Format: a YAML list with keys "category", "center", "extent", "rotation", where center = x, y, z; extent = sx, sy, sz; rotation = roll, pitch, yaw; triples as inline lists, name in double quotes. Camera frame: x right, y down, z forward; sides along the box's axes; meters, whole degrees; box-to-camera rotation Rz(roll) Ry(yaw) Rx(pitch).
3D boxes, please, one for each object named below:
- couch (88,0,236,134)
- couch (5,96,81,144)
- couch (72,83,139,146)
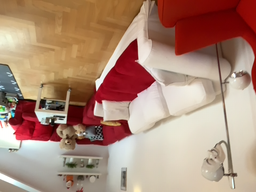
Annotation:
- category: "couch"
  center: [0.150, -0.100, 2.800]
  extent: [0.900, 0.850, 2.190]
  rotation: [8, 160, -18]
- category: "couch"
  center: [-2.020, 0.650, 5.210]
  extent: [1.480, 0.850, 0.960]
  rotation: [8, 160, -18]
- category: "couch"
  center: [-0.650, 0.590, 4.890]
  extent: [0.890, 0.850, 2.490]
  rotation: [8, 160, -18]
